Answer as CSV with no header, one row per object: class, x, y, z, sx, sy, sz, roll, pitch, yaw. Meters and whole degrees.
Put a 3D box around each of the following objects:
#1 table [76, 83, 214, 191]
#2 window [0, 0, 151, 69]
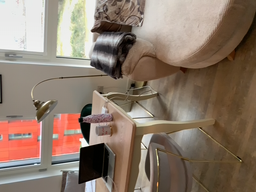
table,-0.020,1.030,2.290,1.120,0.770,2.110,32,118,58
window,-1.000,-0.870,2.390,0.090,2.720,0.970,42,126,55
